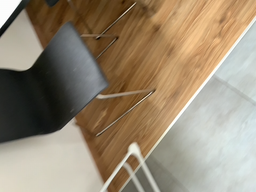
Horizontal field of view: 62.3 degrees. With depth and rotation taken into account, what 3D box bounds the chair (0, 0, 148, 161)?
[{"bbox_3d":[-0.400,-0.050,1.120,0.590,0.840,0.460,-38,72,21],"label":"chair"}]
